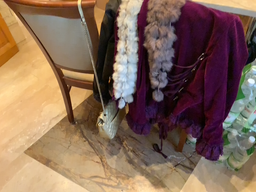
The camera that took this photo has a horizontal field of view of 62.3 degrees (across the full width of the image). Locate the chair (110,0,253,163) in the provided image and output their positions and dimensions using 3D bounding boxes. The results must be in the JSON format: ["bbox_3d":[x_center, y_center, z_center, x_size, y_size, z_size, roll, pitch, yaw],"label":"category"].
[{"bbox_3d":[0.290,-0.160,1.230,0.420,1.000,0.580,27,56,24],"label":"chair"}]

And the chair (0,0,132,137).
[{"bbox_3d":[-0.260,-0.250,1.370,0.420,0.960,0.530,10,51,12],"label":"chair"}]
